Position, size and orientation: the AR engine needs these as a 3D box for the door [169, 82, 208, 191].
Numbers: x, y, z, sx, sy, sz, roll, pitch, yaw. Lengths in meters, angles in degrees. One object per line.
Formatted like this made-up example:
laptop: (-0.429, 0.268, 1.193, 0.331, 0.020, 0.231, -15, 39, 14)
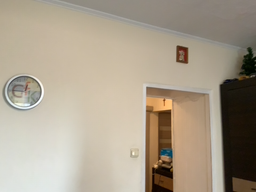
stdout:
door: (0.690, 0.970, 2.510, 0.060, 2.200, 0.620, 6, -10, -24)
